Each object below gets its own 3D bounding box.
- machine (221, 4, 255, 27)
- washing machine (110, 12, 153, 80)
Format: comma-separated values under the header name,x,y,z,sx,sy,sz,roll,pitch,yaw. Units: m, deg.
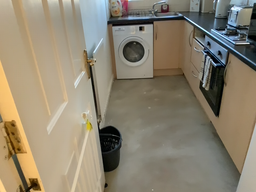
name,x,y,z,sx,sy,sz,roll,pitch,yaw
machine,1.190,-0.840,2.200,0.310,0.180,0.310,-2,27,3
washing machine,0.080,-0.830,3.490,0.600,0.930,0.650,-2,27,2
